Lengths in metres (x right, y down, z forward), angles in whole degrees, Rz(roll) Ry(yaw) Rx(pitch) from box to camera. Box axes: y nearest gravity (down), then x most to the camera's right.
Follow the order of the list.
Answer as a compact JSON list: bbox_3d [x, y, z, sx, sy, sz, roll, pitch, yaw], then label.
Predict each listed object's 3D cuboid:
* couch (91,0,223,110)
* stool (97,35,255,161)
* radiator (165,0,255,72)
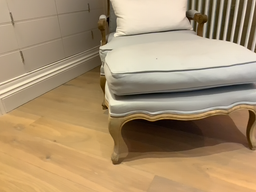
[{"bbox_3d":[0.150,-0.520,1.700,0.760,0.880,0.860,-5,27,-3],"label":"couch"},{"bbox_3d":[0.230,-0.030,1.180,0.730,0.460,0.500,-5,27,-3],"label":"stool"},{"bbox_3d":[0.800,-0.640,1.920,0.880,0.740,0.180,11,29,26],"label":"radiator"}]
